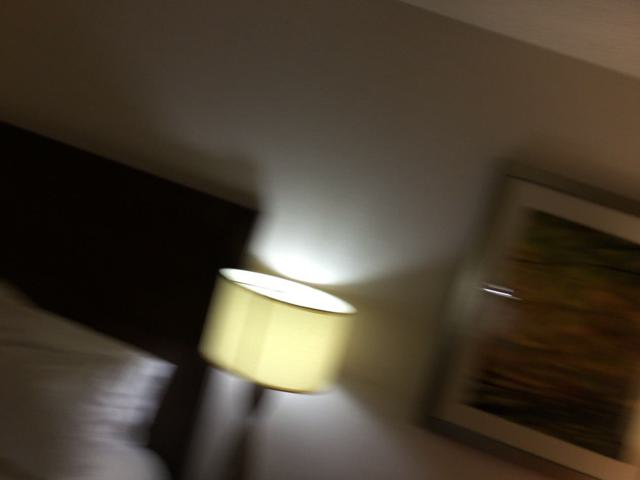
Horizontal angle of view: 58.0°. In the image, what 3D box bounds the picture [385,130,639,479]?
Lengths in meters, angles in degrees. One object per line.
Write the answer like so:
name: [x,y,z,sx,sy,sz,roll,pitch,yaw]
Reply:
picture: [0.770,0.270,1.810,0.820,0.980,0.110,21,2,1]
